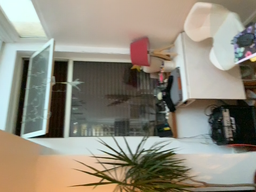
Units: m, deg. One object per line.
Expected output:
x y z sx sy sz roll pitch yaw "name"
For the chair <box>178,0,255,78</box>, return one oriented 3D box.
0.930 -0.490 1.900 0.460 0.790 0.490 112 158 -71 "chair"
